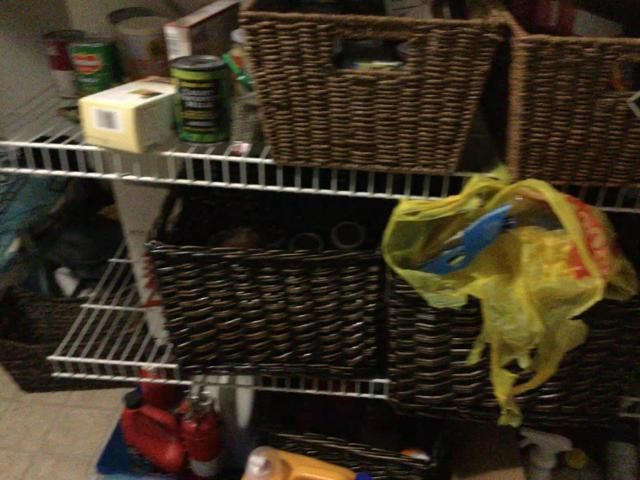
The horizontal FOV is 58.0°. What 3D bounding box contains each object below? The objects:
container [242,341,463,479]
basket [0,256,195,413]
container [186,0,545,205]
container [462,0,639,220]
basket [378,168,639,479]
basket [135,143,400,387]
[{"bbox_3d":[0.080,0.460,1.330,0.430,0.290,0.310,3,35,6],"label":"container"},{"bbox_3d":[-0.660,0.260,1.660,0.480,0.260,0.330,3,35,6],"label":"basket"},{"bbox_3d":[0.070,-0.280,0.870,0.390,0.260,0.420,3,35,6],"label":"container"},{"bbox_3d":[0.410,-0.270,0.820,0.340,0.280,0.460,3,35,6],"label":"container"},{"bbox_3d":[0.310,0.120,0.970,0.400,0.340,0.360,3,35,6],"label":"basket"},{"bbox_3d":[-0.060,0.030,1.050,0.390,0.290,0.320,3,35,6],"label":"basket"}]
